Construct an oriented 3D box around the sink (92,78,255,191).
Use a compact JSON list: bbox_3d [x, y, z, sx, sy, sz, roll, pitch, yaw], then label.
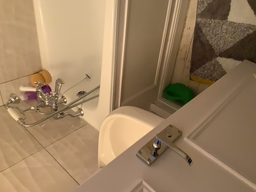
[{"bbox_3d":[0.140,0.270,0.810,0.620,0.190,0.440,30,130,32],"label":"sink"}]
